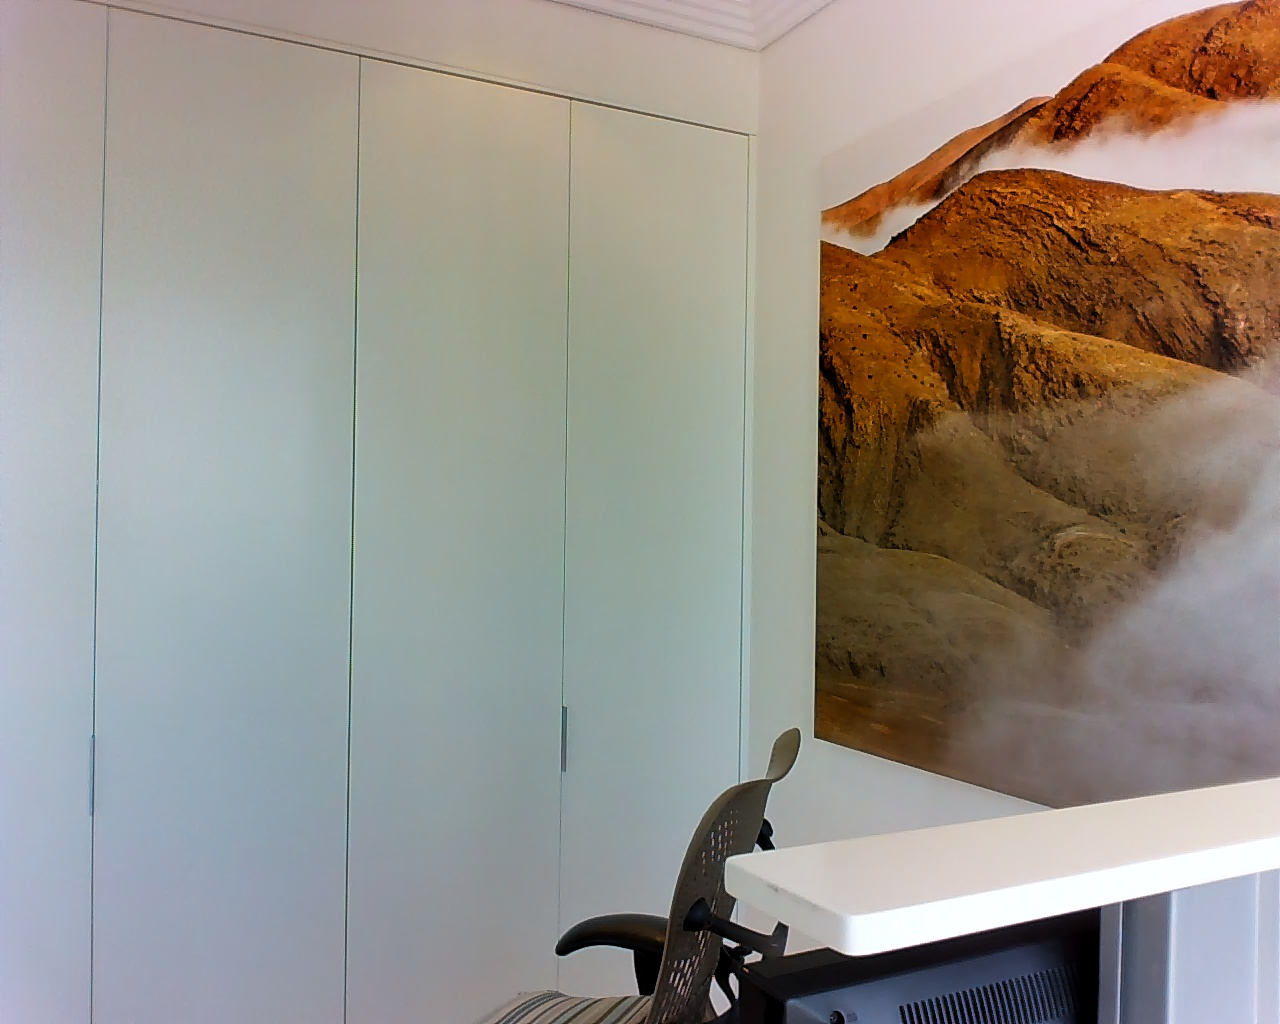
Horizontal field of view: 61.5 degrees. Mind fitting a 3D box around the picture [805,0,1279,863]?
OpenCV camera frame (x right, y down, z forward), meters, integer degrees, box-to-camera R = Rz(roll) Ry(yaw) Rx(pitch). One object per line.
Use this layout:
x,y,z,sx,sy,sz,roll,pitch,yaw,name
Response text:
0.930,-0.230,1.650,0.060,1.480,2.220,1,0,-26,picture
